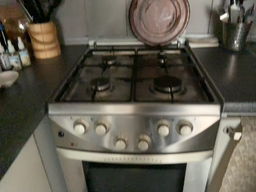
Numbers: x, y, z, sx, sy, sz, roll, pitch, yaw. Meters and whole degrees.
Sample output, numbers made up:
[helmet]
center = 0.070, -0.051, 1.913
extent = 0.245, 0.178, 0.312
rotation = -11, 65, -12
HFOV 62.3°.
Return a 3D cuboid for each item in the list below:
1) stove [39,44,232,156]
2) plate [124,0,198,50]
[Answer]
[stove]
center = 0.030, -0.040, 0.850
extent = 0.510, 0.170, 0.570
rotation = 1, 30, 3
[plate]
center = 0.140, -0.370, 0.980
extent = 0.300, 0.260, 0.180
rotation = 1, 30, 4
